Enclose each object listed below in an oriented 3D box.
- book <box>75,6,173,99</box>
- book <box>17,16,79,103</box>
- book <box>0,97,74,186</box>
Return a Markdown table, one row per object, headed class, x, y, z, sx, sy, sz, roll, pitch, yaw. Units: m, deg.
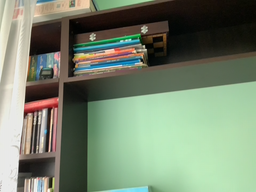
| class | x | y | z | sx | sy | sz | roll | pitch | yaw |
| --- | --- | --- | --- | --- | --- | --- | --- | --- | --- |
| book | -0.010 | -0.180 | 1.000 | 0.390 | 0.280 | 0.250 | -8 | -19 | 13 |
| book | -0.350 | -0.160 | 0.970 | 0.190 | 0.330 | 0.160 | -7 | -19 | 10 |
| book | -0.370 | 0.190 | 0.880 | 0.240 | 0.320 | 0.140 | -7 | -19 | 10 |
